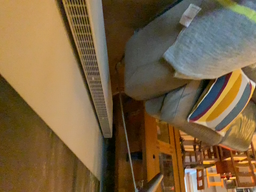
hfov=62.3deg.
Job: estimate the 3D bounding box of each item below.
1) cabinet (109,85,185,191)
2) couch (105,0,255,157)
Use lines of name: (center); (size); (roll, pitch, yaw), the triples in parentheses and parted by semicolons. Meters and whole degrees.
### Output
cabinet: (0.230, 0.920, 2.510); (0.530, 1.900, 0.760); (-20, 148, 34)
couch: (0.880, -0.080, 1.750); (1.160, 0.790, 1.780); (-24, 146, 39)
